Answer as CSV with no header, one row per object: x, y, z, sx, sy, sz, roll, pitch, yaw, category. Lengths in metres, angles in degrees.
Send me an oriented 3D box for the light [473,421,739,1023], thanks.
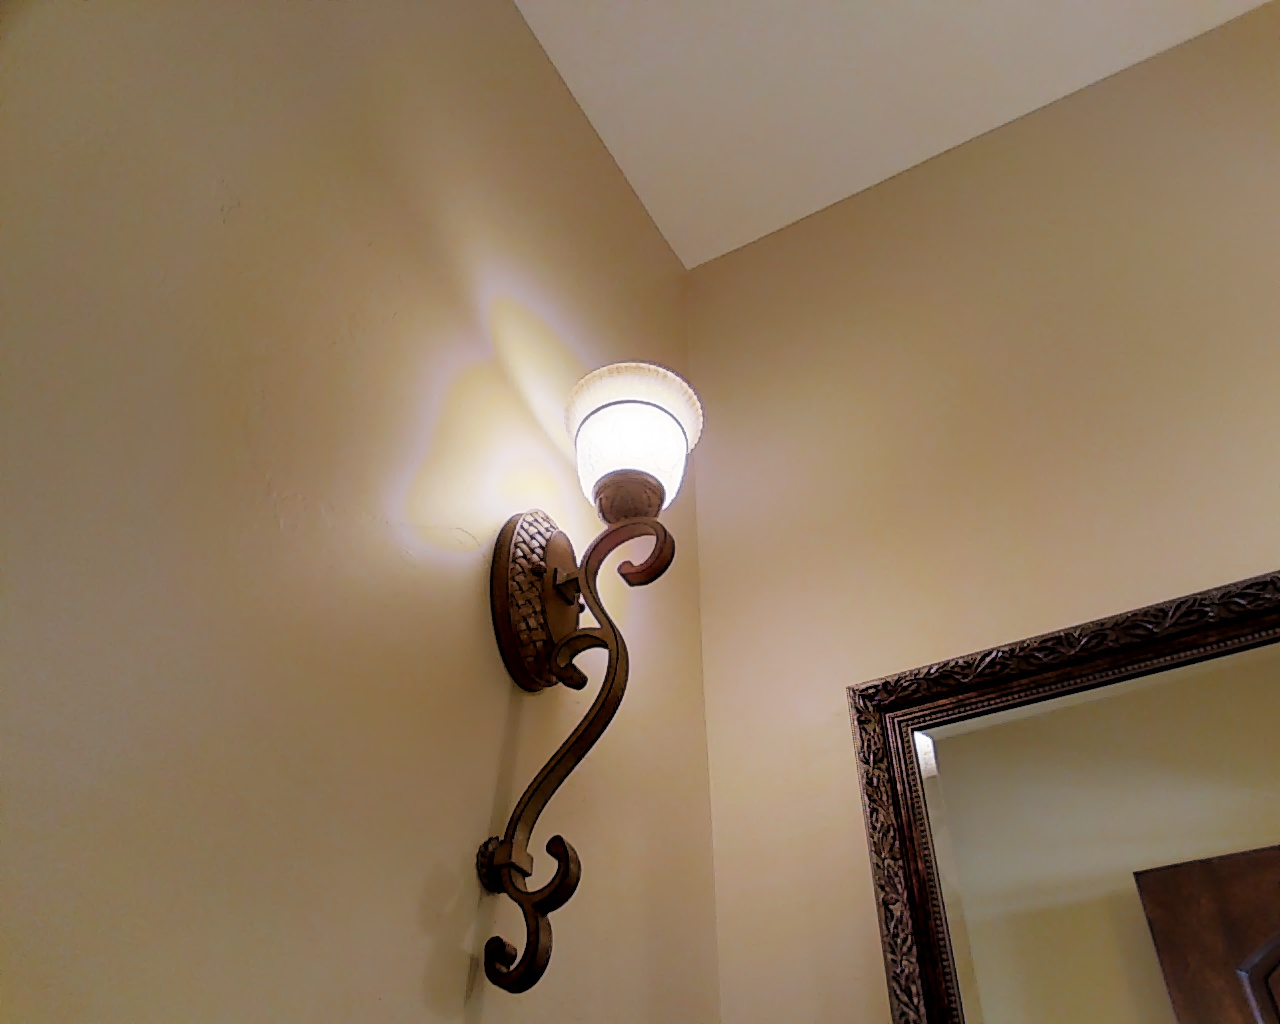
-0.020,0.160,0.920,0.140,0.490,0.130,-23,-46,26,light
